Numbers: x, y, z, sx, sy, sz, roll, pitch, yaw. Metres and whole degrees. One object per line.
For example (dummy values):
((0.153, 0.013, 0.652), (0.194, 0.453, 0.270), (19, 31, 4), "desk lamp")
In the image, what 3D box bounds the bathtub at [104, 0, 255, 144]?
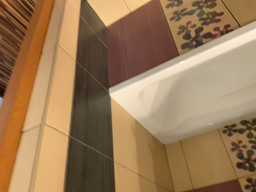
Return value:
((0.730, -0.350, 1.140), (1.580, 0.560, 0.690), (-23, 139, 19), "bathtub")
